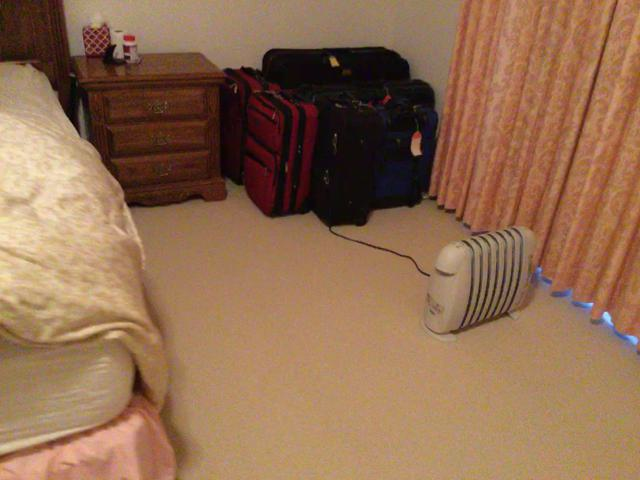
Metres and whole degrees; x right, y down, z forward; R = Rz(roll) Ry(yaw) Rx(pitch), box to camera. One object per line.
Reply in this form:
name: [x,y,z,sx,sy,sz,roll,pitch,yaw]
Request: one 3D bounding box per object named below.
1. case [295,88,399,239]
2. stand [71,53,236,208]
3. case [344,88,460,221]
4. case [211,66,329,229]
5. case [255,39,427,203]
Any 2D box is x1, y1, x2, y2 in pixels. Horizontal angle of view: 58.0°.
case: [0.110,-0.380,2.780,0.310,0.620,0.370,-8,26,-25]
stand: [-0.820,-0.550,2.840,0.670,0.630,0.490,-5,22,-25]
case: [0.400,-0.440,2.910,0.420,0.580,0.290,-8,26,-25]
case: [-0.290,-0.510,2.970,0.330,0.640,0.750,-8,26,-25]
case: [0.100,-0.690,3.290,0.840,0.810,0.360,-8,26,-25]
